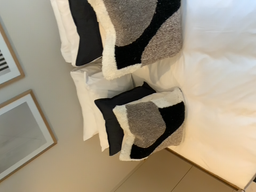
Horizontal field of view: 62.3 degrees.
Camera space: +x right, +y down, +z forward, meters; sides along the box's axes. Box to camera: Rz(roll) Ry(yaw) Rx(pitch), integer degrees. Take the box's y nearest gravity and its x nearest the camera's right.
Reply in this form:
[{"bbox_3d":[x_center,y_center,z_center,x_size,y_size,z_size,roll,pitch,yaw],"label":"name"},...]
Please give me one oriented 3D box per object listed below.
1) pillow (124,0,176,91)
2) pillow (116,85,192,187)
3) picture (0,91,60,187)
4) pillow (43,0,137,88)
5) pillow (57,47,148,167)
[{"bbox_3d":[0.130,-0.320,1.000,0.130,0.370,0.460,4,129,20],"label":"pillow"},{"bbox_3d":[0.180,0.240,1.340,0.240,0.390,0.440,26,138,38],"label":"pillow"},{"bbox_3d":[-0.870,0.360,1.430,0.040,0.730,0.510,21,134,42],"label":"picture"},{"bbox_3d":[-0.220,-0.500,1.240,0.360,0.360,0.750,29,139,36],"label":"pillow"},{"bbox_3d":[-0.170,0.080,1.700,0.410,0.370,0.800,21,134,42],"label":"pillow"}]
